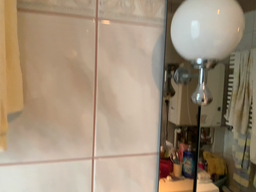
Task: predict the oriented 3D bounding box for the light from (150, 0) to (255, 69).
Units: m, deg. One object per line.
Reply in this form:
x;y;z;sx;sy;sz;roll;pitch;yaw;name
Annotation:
0.150;-0.130;0.430;0.140;0.140;0.180;0;6;-20;light
